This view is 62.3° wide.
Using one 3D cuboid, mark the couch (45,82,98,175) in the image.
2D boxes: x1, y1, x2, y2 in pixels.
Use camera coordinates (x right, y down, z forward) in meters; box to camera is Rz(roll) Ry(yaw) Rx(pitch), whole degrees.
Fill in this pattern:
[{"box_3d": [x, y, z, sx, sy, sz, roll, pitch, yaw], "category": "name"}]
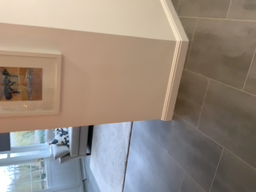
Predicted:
[{"box_3d": [-1.390, 0.720, 4.950, 0.920, 0.920, 1.880, 46, 132, 54], "category": "couch"}]
